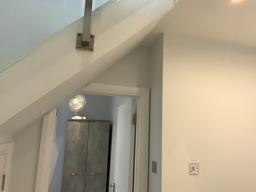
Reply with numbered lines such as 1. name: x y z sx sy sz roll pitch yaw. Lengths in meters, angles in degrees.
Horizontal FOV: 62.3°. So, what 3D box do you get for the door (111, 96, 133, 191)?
1. door: -0.100 1.030 2.300 0.050 1.960 0.720 5 -11 -13
